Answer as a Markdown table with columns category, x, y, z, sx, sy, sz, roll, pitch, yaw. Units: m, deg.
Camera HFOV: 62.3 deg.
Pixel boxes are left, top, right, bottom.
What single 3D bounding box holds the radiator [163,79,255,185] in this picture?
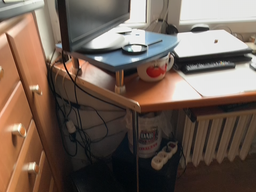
| category | x | y | z | sx | sy | sz | roll | pitch | yaw |
| --- | --- | --- | --- | --- | --- | --- | --- | --- | --- |
| radiator | 0.620 | 0.230 | 1.350 | 0.700 | 0.620 | 0.210 | -5 | 31 | -7 |
